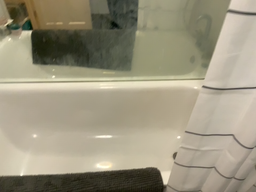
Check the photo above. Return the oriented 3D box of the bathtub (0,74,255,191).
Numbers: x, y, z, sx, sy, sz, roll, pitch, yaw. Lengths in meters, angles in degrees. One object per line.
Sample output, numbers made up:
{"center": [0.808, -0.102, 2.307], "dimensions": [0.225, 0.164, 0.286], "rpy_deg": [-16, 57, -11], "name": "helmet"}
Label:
{"center": [-0.210, 0.320, 1.300], "dimensions": [1.660, 0.550, 0.760], "rpy_deg": [0, 44, -2], "name": "bathtub"}
